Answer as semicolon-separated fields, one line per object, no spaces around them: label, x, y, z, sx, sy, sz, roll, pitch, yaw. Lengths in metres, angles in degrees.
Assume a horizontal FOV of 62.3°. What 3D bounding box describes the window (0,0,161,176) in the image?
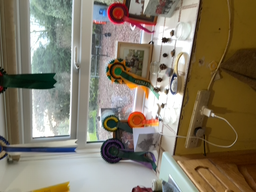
window;-0.310;-0.090;1.390;0.080;0.950;1.260;-136;50;-66
